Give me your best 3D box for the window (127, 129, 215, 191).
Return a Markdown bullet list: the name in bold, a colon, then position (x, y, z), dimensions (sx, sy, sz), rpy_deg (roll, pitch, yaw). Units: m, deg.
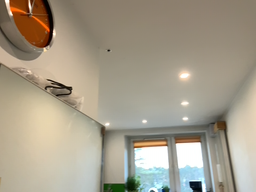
- **window**: position (0.730, 1.280, 3.920), dimensions (1.510, 1.250, 0.130), rpy_deg (-6, -20, 14)
